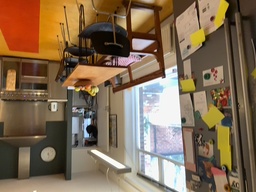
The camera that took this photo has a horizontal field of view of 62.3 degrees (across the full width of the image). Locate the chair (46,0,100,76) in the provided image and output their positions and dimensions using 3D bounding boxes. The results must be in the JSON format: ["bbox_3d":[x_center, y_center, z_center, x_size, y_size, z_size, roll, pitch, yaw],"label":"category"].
[{"bbox_3d":[-0.690,-0.670,2.640,0.600,0.760,0.430,1,175,-20],"label":"chair"}]

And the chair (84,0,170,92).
[{"bbox_3d":[-0.180,-0.590,3.230,0.580,0.840,1.980,1,175,-23],"label":"chair"}]

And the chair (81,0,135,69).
[{"bbox_3d":[-0.230,-0.720,2.150,0.360,0.760,0.610,1,175,-25],"label":"chair"}]
